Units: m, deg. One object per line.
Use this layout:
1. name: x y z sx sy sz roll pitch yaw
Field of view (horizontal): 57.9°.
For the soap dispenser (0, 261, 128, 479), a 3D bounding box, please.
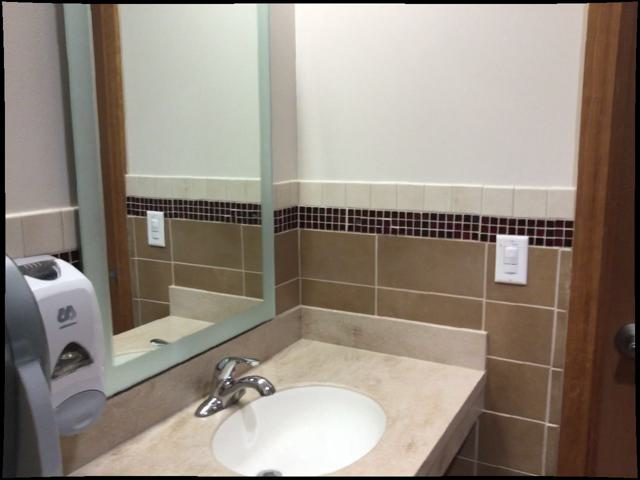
1. soap dispenser: -0.440 0.190 0.920 0.130 0.270 0.200 4 12 28
